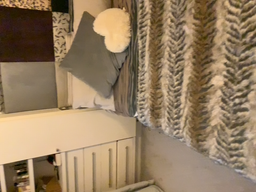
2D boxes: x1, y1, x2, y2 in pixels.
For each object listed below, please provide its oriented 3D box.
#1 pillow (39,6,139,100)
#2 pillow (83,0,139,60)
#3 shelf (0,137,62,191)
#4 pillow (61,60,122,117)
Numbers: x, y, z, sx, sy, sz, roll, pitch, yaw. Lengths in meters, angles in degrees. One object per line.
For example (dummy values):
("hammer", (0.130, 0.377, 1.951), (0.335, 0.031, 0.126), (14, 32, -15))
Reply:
("pillow", (-0.310, -0.370, 1.870), (0.620, 0.560, 0.280), (-23, 20, 7))
("pillow", (-0.120, -0.550, 1.740), (0.170, 0.310, 0.400), (-25, 26, 37))
("shelf", (-1.440, 0.930, 2.110), (0.400, 1.440, 0.690), (21, 112, 58))
("pillow", (-0.360, -0.070, 2.080), (0.240, 0.420, 0.430), (17, 88, 60))
